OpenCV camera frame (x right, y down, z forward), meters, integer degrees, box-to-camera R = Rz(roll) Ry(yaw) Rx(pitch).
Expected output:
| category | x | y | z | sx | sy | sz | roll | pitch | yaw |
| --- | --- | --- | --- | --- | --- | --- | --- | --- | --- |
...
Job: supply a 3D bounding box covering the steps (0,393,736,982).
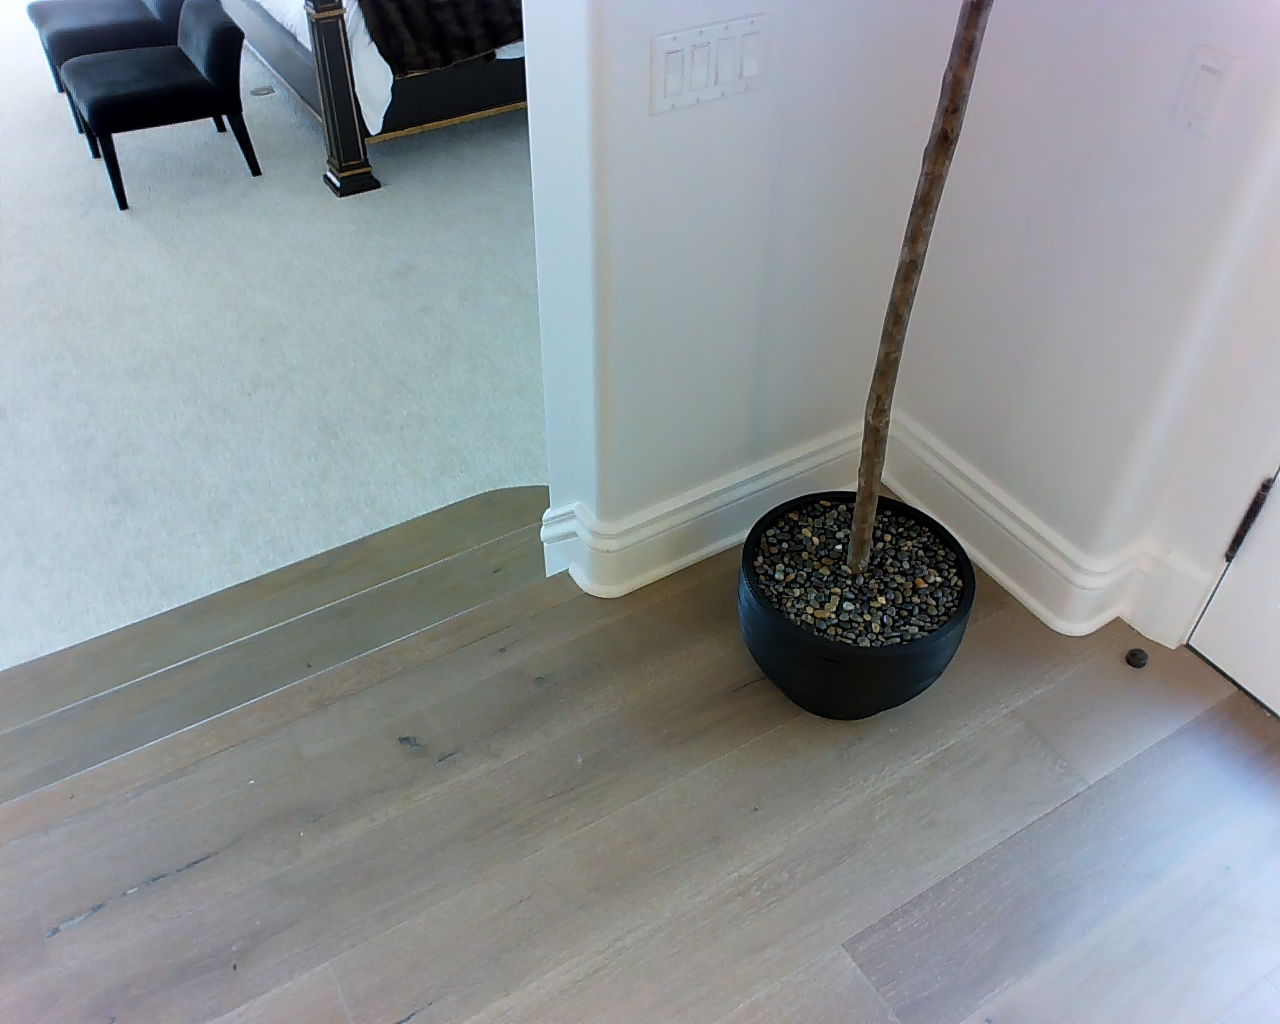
| category | x | y | z | sx | sy | sz | roll | pitch | yaw |
| --- | --- | --- | --- | --- | --- | --- | --- | --- | --- |
| steps | -0.950 | 0.410 | 2.500 | 2.360 | 0.390 | 0.660 | -22 | 48 | -22 |
